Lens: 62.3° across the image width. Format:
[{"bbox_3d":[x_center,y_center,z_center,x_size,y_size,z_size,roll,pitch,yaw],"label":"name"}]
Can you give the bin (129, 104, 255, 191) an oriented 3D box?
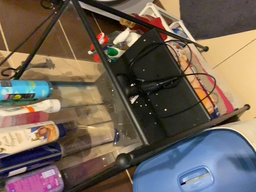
[{"bbox_3d":[0.400,0.280,0.930,0.410,0.650,0.280,-41,68,32],"label":"bin"}]
